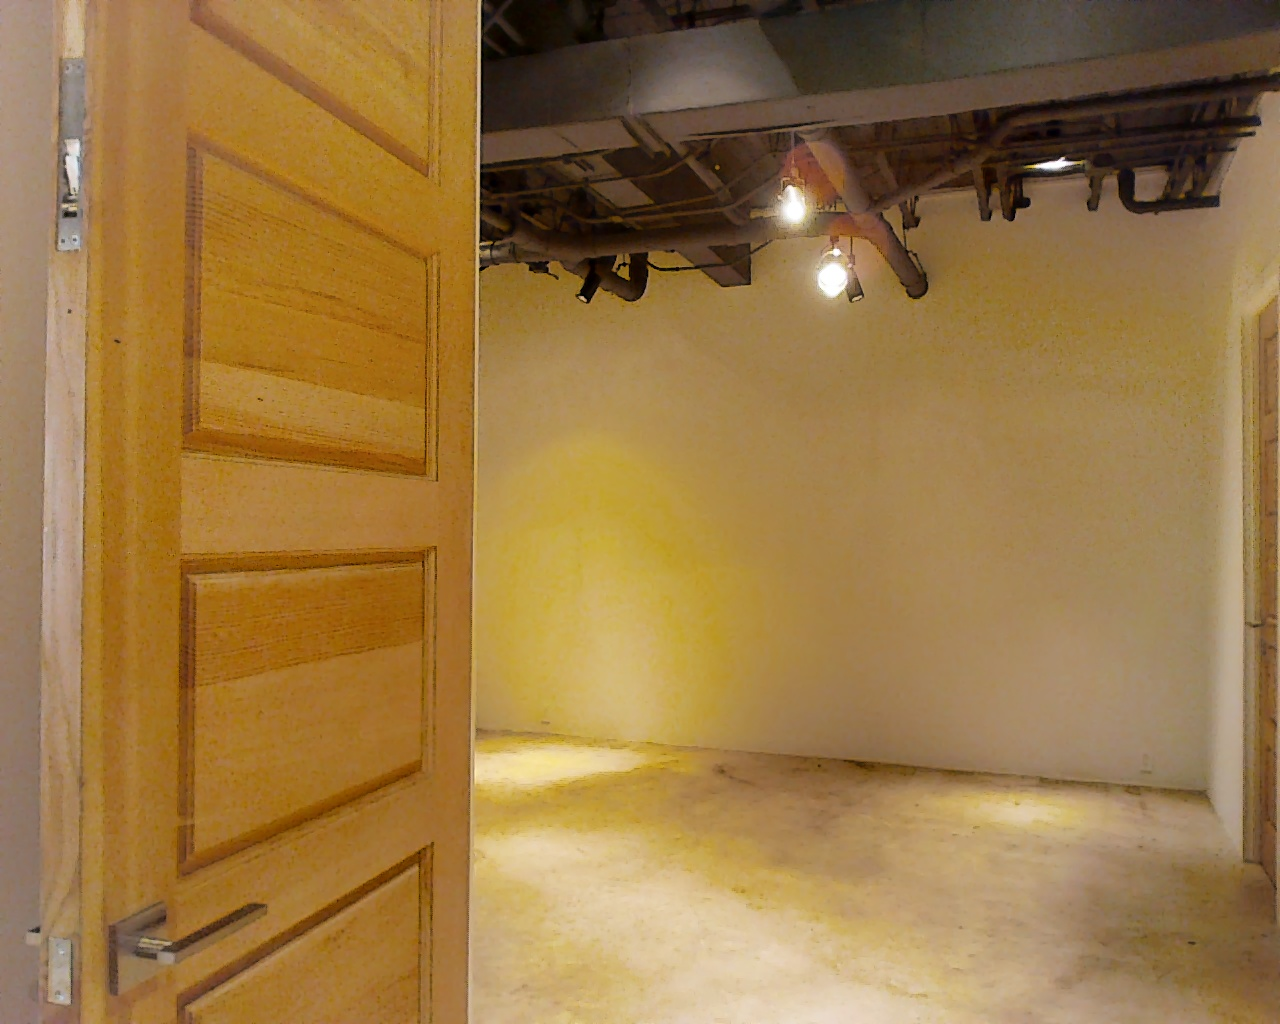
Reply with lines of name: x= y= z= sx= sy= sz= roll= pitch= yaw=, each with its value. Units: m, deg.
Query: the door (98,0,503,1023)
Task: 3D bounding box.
door: x=-0.370 y=0.270 z=1.360 sx=0.060 sy=2.410 sz=0.740 roll=0 pitch=0 yaw=18
